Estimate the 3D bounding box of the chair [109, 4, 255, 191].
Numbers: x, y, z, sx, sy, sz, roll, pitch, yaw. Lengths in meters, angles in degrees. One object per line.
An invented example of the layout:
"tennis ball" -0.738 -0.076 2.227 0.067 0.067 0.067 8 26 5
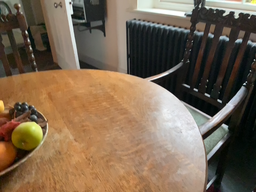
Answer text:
"chair" 0.310 0.100 1.200 0.560 1.040 0.520 -26 39 -33
